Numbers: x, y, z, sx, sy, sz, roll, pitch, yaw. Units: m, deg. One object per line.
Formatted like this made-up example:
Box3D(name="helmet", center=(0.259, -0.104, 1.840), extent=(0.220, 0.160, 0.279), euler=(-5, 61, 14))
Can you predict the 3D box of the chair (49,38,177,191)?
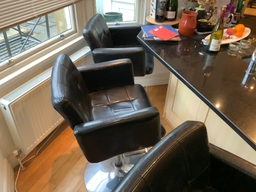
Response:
Box3D(name="chair", center=(-0.130, 0.190, 1.440), extent=(0.540, 0.920, 0.710), euler=(-5, 37, -10))
